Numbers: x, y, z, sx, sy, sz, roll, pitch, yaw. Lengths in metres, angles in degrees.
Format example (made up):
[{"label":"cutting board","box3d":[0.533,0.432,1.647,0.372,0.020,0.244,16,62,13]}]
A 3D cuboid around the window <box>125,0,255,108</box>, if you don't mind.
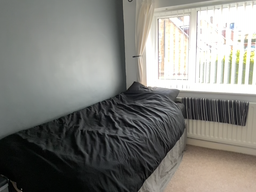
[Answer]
[{"label":"window","box3d":[0.900,-0.630,2.610,1.950,1.350,0.370,6,15,32]}]
